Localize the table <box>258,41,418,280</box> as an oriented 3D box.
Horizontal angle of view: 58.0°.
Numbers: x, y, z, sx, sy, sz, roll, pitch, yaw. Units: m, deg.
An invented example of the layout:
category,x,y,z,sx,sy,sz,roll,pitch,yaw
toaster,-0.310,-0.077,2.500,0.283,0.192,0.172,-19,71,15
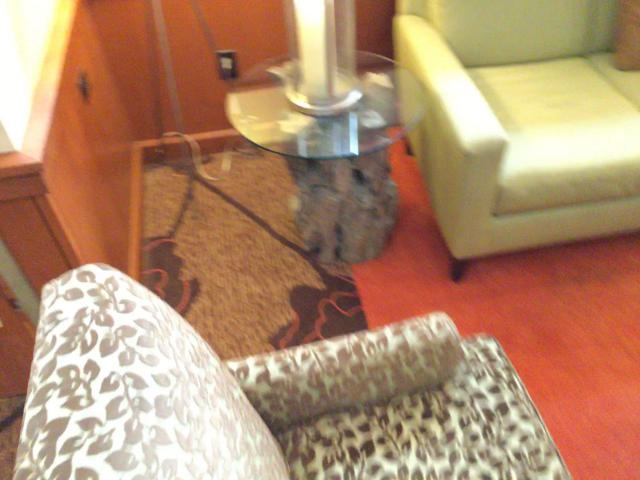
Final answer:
category,x,y,z,sx,sy,sz,roll,pitch,yaw
table,0.060,-0.280,2.080,0.440,0.590,0.530,-9,47,-2
